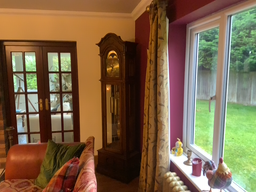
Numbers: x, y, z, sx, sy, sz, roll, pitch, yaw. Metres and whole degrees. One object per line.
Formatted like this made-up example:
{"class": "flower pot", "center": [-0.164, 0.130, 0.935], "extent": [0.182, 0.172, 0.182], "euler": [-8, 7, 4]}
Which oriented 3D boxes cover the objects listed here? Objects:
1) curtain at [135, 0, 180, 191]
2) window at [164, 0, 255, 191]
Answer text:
{"class": "curtain", "center": [0.270, 0.160, 2.190], "extent": [0.260, 2.100, 0.430], "euler": [-1, 9, -14]}
{"class": "window", "center": [0.640, 0.050, 1.310], "extent": [0.270, 1.390, 1.530], "euler": [-1, 9, -10]}
